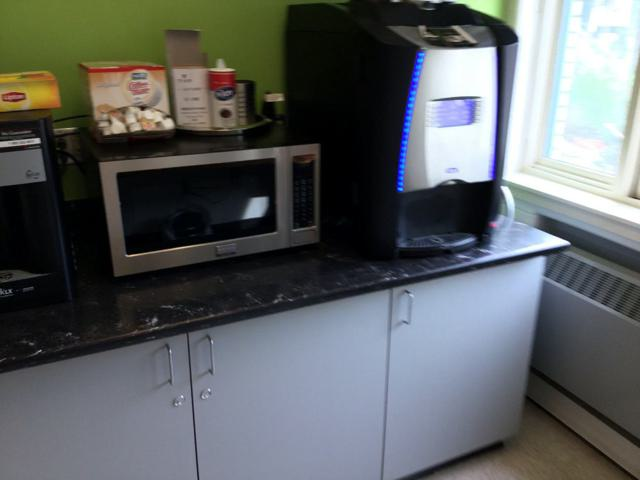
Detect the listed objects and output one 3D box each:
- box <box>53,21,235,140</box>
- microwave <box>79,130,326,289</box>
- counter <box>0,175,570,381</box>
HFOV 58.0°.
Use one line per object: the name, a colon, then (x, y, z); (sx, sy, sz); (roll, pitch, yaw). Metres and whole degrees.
box: (-0.500, -0.460, 1.640); (0.420, 0.280, 0.320); (-9, 20, -25)
microwave: (-0.290, -0.100, 1.570); (0.630, 0.350, 0.100); (-9, 20, -25)
counter: (-0.190, 0.020, 1.730); (1.770, 0.140, 0.730); (-9, 20, -25)
